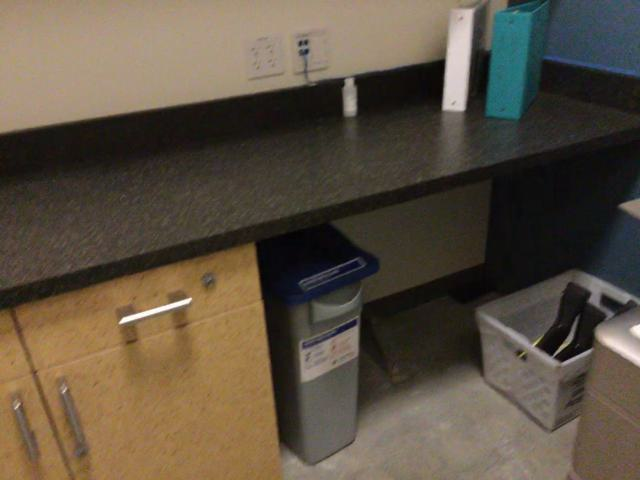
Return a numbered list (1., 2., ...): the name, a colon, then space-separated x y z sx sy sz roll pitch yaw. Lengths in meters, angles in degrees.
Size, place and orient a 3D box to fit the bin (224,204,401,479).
1. bin: -0.020 0.300 1.620 0.330 0.670 0.350 -14 29 -23
